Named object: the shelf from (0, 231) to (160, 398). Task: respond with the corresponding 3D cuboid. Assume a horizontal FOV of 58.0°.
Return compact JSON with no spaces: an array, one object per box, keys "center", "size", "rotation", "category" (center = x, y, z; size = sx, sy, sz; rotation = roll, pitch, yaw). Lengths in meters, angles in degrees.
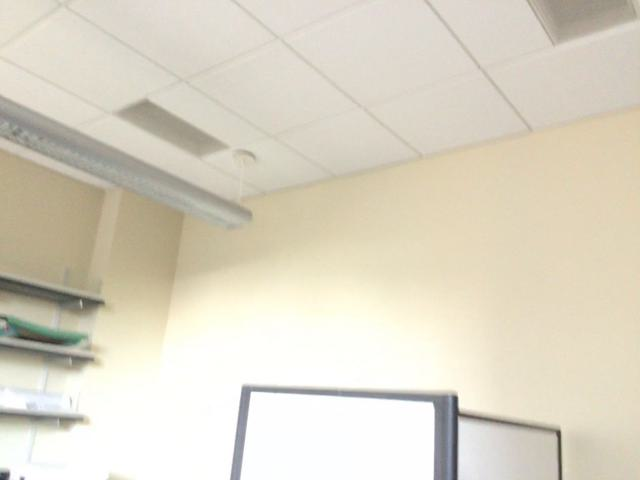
[{"center":[-1.520,0.470,3.380],"size":[0.460,0.780,0.900],"rotation":[-7,-20,40],"category":"shelf"}]
